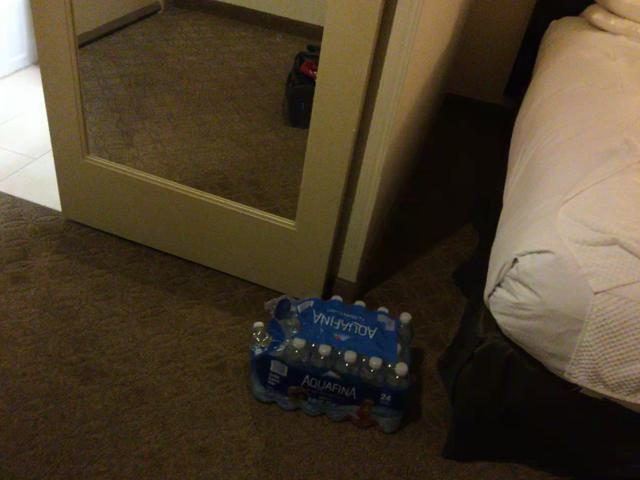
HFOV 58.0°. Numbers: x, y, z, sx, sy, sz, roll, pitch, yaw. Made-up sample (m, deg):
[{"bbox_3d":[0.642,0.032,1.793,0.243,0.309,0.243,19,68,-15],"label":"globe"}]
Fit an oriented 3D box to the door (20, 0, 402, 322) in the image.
[{"bbox_3d":[-0.300,-0.500,1.410,0.930,1.440,0.130,19,39,11],"label":"door"}]
